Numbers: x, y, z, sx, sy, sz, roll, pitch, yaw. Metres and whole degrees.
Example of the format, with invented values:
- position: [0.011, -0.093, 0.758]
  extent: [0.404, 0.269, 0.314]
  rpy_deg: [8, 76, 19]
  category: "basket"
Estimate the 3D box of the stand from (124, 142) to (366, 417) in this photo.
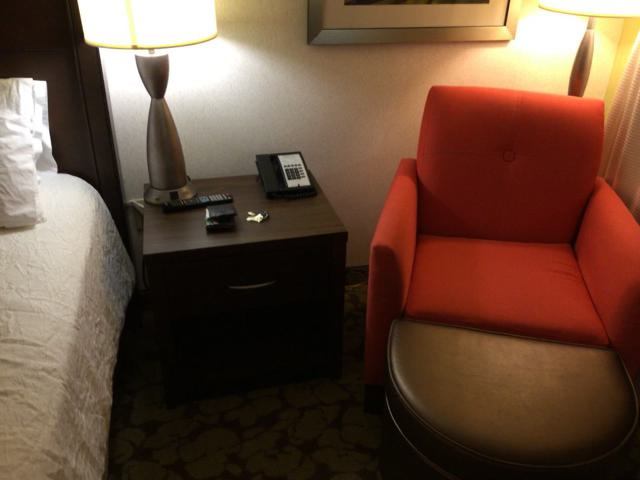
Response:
- position: [-0.270, 0.100, 2.040]
  extent: [0.690, 0.660, 0.580]
  rpy_deg: [-9, 30, -14]
  category: "stand"

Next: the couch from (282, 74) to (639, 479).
- position: [0.520, 0.120, 1.700]
  extent: [0.850, 0.900, 1.180]
  rpy_deg: [8, 30, 16]
  category: "couch"
